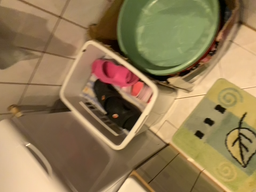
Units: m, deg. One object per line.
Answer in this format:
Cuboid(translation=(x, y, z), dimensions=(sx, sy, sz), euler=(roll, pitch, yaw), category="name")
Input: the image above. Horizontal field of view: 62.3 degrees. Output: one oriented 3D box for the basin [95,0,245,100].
Cuboid(translation=(0.210, -0.290, 1.040), dimensions=(0.470, 0.400, 0.400), euler=(43, 108, 19), category="basin")
